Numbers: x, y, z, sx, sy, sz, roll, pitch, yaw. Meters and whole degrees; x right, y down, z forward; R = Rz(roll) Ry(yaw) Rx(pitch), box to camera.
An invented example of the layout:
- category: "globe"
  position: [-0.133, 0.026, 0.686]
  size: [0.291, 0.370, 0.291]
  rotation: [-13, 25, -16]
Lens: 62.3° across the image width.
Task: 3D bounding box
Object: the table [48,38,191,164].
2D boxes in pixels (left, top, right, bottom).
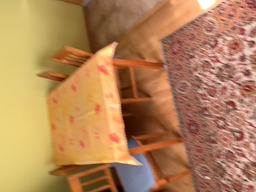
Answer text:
- category: "table"
  position: [-0.190, 0.140, 2.100]
  size: [1.210, 0.740, 0.860]
  rotation: [-22, 75, 51]
